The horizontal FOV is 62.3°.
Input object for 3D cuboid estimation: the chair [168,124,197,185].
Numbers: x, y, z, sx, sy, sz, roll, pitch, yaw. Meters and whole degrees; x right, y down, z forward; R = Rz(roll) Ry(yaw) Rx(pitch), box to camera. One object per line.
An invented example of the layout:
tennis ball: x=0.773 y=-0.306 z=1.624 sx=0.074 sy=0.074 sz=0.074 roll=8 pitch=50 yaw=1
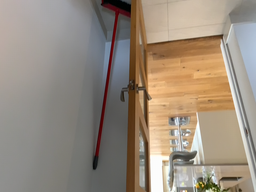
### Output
chair: x=1.050 y=1.160 z=4.200 sx=0.420 sy=1.070 sz=0.470 roll=-4 pitch=151 yaw=9

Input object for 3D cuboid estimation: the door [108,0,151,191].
door: x=0.040 y=0.130 z=1.320 sx=0.120 sy=1.840 sz=0.620 roll=-4 pitch=151 yaw=9

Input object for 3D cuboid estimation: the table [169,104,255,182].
table: x=1.600 y=1.080 z=4.210 sx=1.440 sy=0.910 sz=2.150 roll=-4 pitch=151 yaw=9
